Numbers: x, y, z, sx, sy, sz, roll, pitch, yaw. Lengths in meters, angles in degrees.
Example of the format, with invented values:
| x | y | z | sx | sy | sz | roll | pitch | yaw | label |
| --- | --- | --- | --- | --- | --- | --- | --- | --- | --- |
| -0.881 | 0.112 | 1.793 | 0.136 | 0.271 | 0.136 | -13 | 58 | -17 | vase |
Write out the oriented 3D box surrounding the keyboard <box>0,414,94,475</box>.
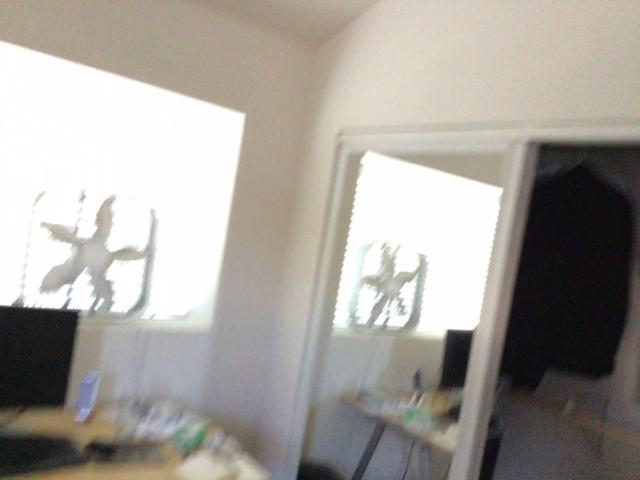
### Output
| x | y | z | sx | sy | sz | roll | pitch | yaw | label |
| --- | --- | --- | --- | --- | --- | --- | --- | --- | --- |
| -0.970 | 0.600 | 1.710 | 0.470 | 0.030 | 0.380 | 12 | -2 | -39 | keyboard |

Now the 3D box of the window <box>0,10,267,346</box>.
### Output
| x | y | z | sx | sy | sz | roll | pitch | yaw | label |
| --- | --- | --- | --- | --- | --- | --- | --- | --- | --- |
| -1.140 | -0.230 | 2.100 | 1.780 | 1.040 | 0.390 | 12 | -2 | -37 | window |
